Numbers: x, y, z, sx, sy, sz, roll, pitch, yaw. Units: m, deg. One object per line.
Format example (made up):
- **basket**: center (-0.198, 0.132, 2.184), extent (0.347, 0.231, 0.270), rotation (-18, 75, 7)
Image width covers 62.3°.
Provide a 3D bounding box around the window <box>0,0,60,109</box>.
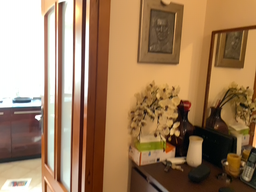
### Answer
- **window**: center (-2.190, -0.700, 3.200), extent (2.210, 1.800, 0.170), rotation (-1, 10, -27)
